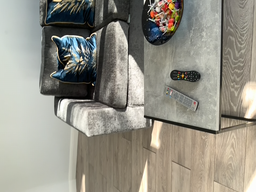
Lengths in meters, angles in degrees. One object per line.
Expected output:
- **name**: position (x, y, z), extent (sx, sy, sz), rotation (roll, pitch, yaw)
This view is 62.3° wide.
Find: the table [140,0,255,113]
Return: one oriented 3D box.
- **table**: position (0.400, -0.410, 1.200), extent (0.530, 0.430, 0.910), rotation (6, 98, 56)
